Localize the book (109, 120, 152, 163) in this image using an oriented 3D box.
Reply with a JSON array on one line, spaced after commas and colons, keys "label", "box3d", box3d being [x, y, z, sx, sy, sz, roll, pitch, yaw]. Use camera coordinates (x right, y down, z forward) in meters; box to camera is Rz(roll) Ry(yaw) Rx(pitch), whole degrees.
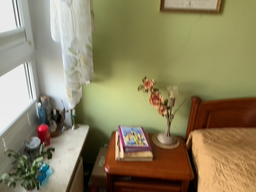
[{"label": "book", "box3d": [0.020, 0.310, 1.510, 0.270, 0.070, 0.370, 3, 25, 1]}]
